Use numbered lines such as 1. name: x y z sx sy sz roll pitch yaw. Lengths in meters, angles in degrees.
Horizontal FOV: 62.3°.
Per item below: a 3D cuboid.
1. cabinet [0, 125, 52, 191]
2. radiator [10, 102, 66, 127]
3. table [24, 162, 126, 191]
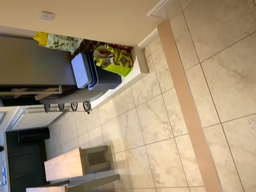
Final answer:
1. cabinet: -2.550 1.880 5.270 0.620 0.940 2.110 -32 67 48
2. radiator: -1.870 0.390 4.340 1.170 0.810 0.100 -32 67 48
3. table: -0.930 1.650 3.290 2.130 0.790 0.820 -31 67 48
